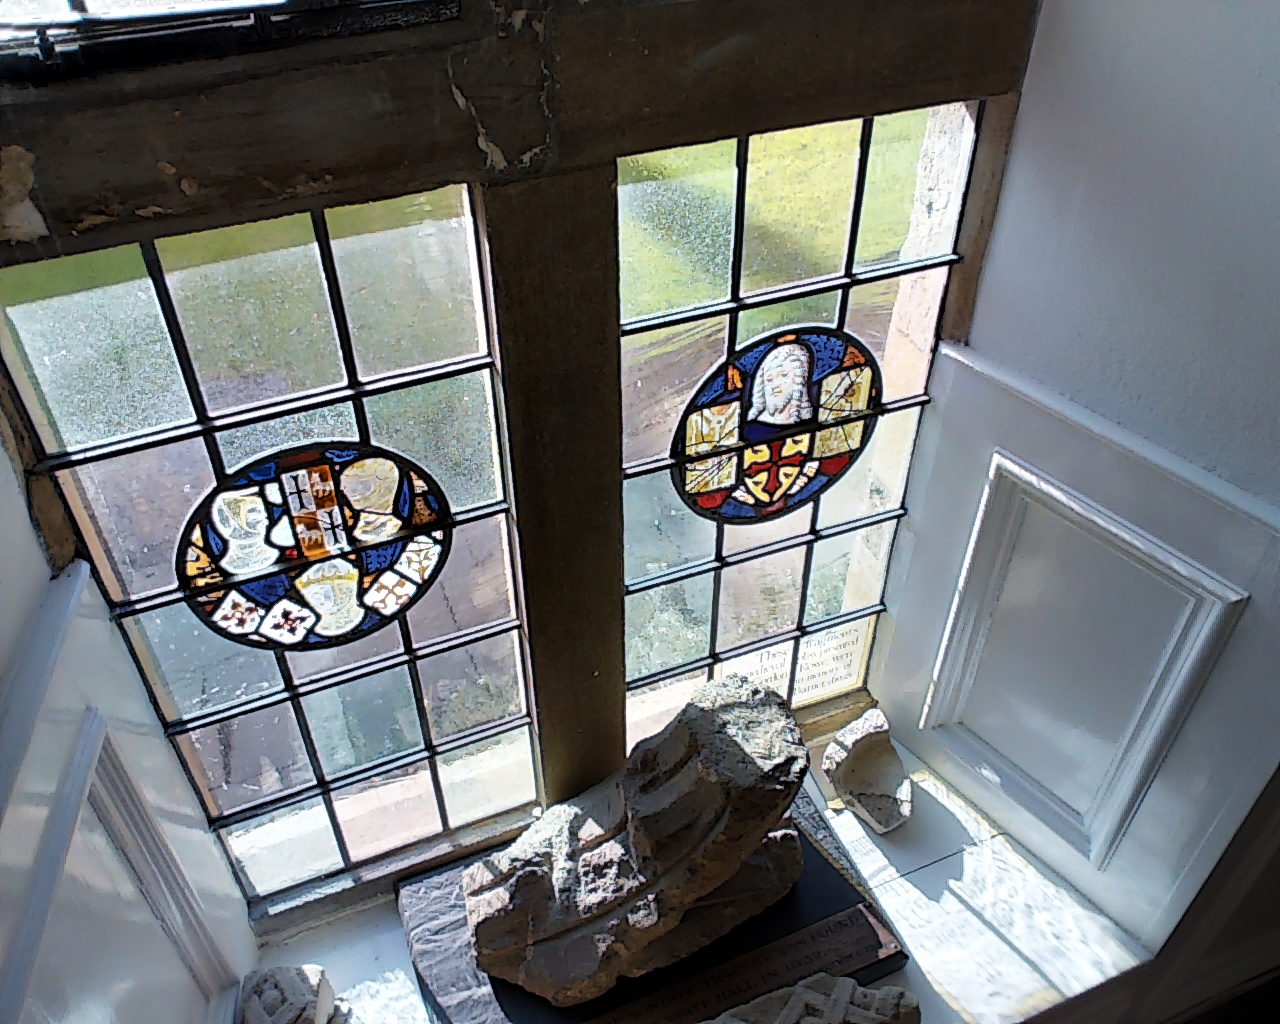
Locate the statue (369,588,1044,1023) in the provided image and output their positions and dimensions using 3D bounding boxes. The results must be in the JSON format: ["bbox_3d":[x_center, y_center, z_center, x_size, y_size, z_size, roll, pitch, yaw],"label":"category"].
[{"bbox_3d":[0.050,0.530,1.460,0.640,0.430,0.570,-16,43,-18],"label":"statue"}]
